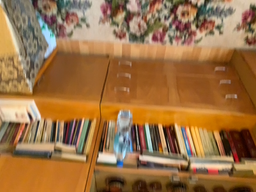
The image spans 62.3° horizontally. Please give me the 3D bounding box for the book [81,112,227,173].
[{"bbox_3d":[0.140,0.260,1.210,0.760,0.230,0.110,7,133,-2],"label":"book"}]
